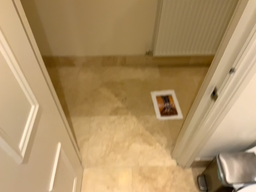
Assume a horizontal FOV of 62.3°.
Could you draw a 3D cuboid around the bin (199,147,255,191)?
[{"bbox_3d":[0.630,0.460,1.260,0.280,0.350,0.170,-1,53,-3],"label":"bin"}]
